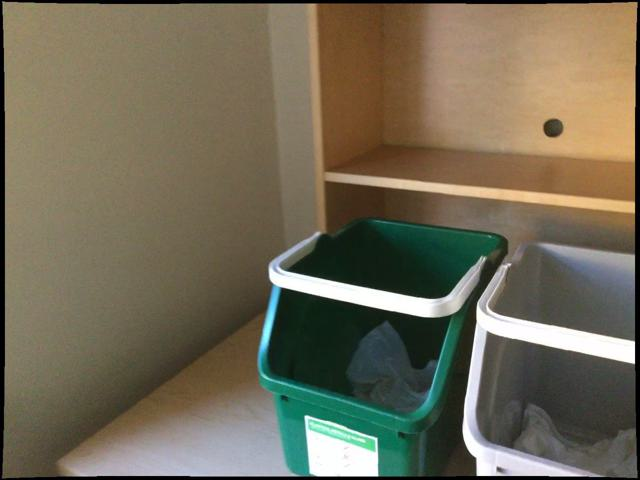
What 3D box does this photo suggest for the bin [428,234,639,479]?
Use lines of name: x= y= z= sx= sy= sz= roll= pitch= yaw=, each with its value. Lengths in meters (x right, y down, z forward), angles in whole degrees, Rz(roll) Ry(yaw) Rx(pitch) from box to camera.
bin: x=0.359 y=0.231 z=0.760 sx=0.319 sy=0.341 sz=0.360 roll=9 pitch=24 yaw=29

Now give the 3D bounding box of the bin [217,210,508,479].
bin: x=0.090 y=0.160 z=0.910 sx=0.299 sy=0.291 sz=0.370 roll=9 pitch=24 yaw=29

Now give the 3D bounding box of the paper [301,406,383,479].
paper: x=0.030 y=0.301 z=0.800 sx=0.120 sy=0.120 sz=0.010 roll=9 pitch=24 yaw=29

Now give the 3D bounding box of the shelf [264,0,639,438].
shelf: x=0.369 y=-0.100 z=1.090 sx=0.838 sy=0.702 sz=0.360 roll=9 pitch=24 yaw=29
